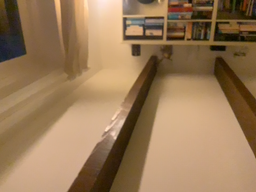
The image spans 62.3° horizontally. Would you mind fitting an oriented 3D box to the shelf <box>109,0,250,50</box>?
[{"bbox_3d":[0.520,-1.000,2.380,1.460,0.870,0.240,5,-157,12],"label":"shelf"}]
